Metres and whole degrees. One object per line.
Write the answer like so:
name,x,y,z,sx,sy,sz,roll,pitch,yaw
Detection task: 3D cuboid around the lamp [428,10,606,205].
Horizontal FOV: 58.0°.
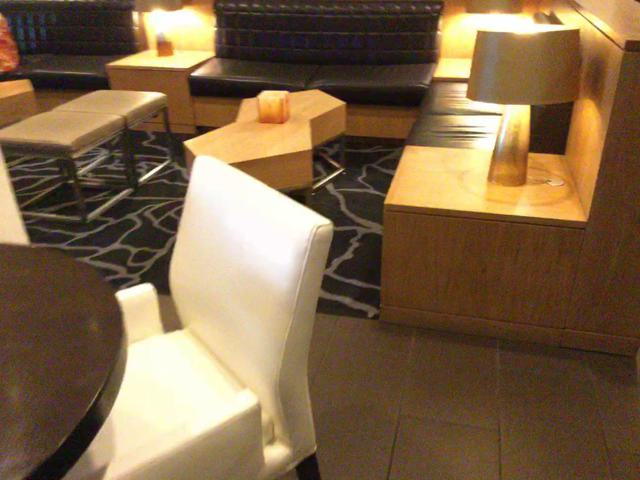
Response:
lamp,0.650,-0.490,2.060,0.460,0.550,0.460,6,28,9
